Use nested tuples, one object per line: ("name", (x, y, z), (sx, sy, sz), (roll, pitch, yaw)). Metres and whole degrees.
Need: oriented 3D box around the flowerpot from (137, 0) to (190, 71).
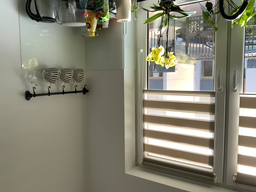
("flowerpot", (0.260, -0.500, 1.530), (0.280, 0.620, 0.280), (4, -173, 34))
